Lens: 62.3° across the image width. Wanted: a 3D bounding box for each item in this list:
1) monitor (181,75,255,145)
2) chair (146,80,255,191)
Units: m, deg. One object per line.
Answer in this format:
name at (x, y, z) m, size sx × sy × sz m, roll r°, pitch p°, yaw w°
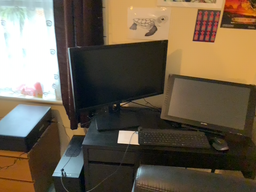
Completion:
monitor at (0.640, 0.090, 1.410) m, size 0.480 × 0.280 × 0.040 m, roll 27°, pitch 18°, yaw 11°
chair at (0.400, 0.620, 1.030) m, size 0.630 × 1.160 × 0.730 m, roll 6°, pitch 26°, yaw 6°
